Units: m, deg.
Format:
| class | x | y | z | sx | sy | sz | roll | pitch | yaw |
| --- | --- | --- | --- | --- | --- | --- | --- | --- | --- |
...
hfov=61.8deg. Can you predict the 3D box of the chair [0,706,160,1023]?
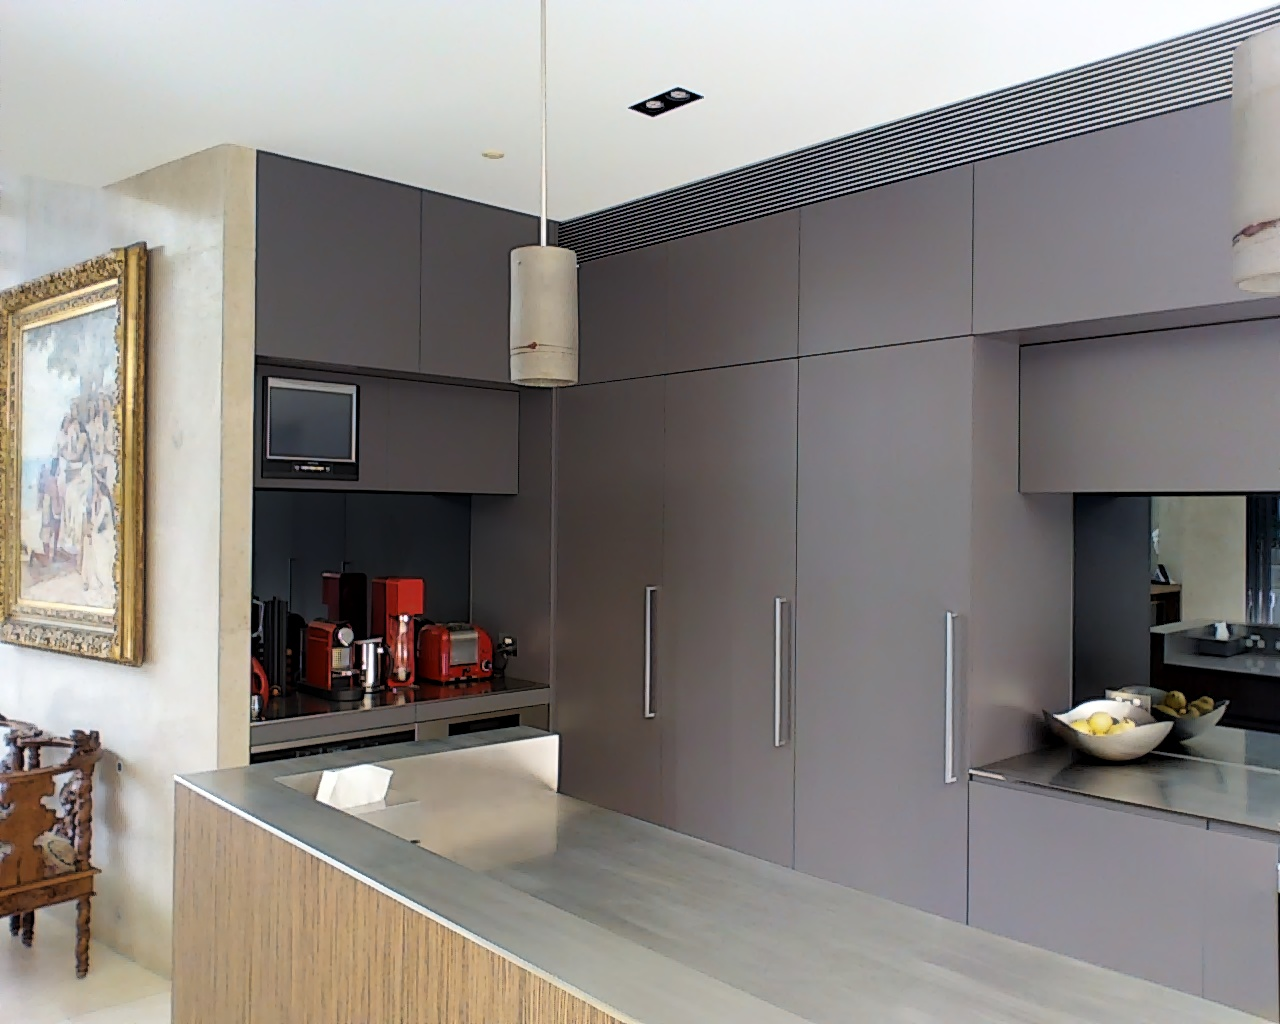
| class | x | y | z | sx | sy | sz | roll | pitch | yaw |
| --- | --- | --- | --- | --- | --- | --- | --- | --- | --- |
| chair | -2.009 | 1.110 | 3.450 | 0.580 | 0.820 | 0.640 | 0 | -1 | 38 |
